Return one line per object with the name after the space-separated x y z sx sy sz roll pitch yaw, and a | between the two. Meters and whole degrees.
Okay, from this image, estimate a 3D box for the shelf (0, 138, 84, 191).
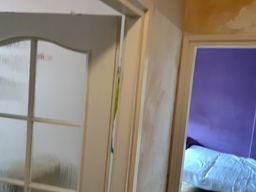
-0.800 1.020 1.930 0.550 1.100 0.450 8 5 33 | shelf

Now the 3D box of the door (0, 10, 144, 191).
-0.450 0.610 1.120 0.870 2.040 0.070 6 4 11 | door
